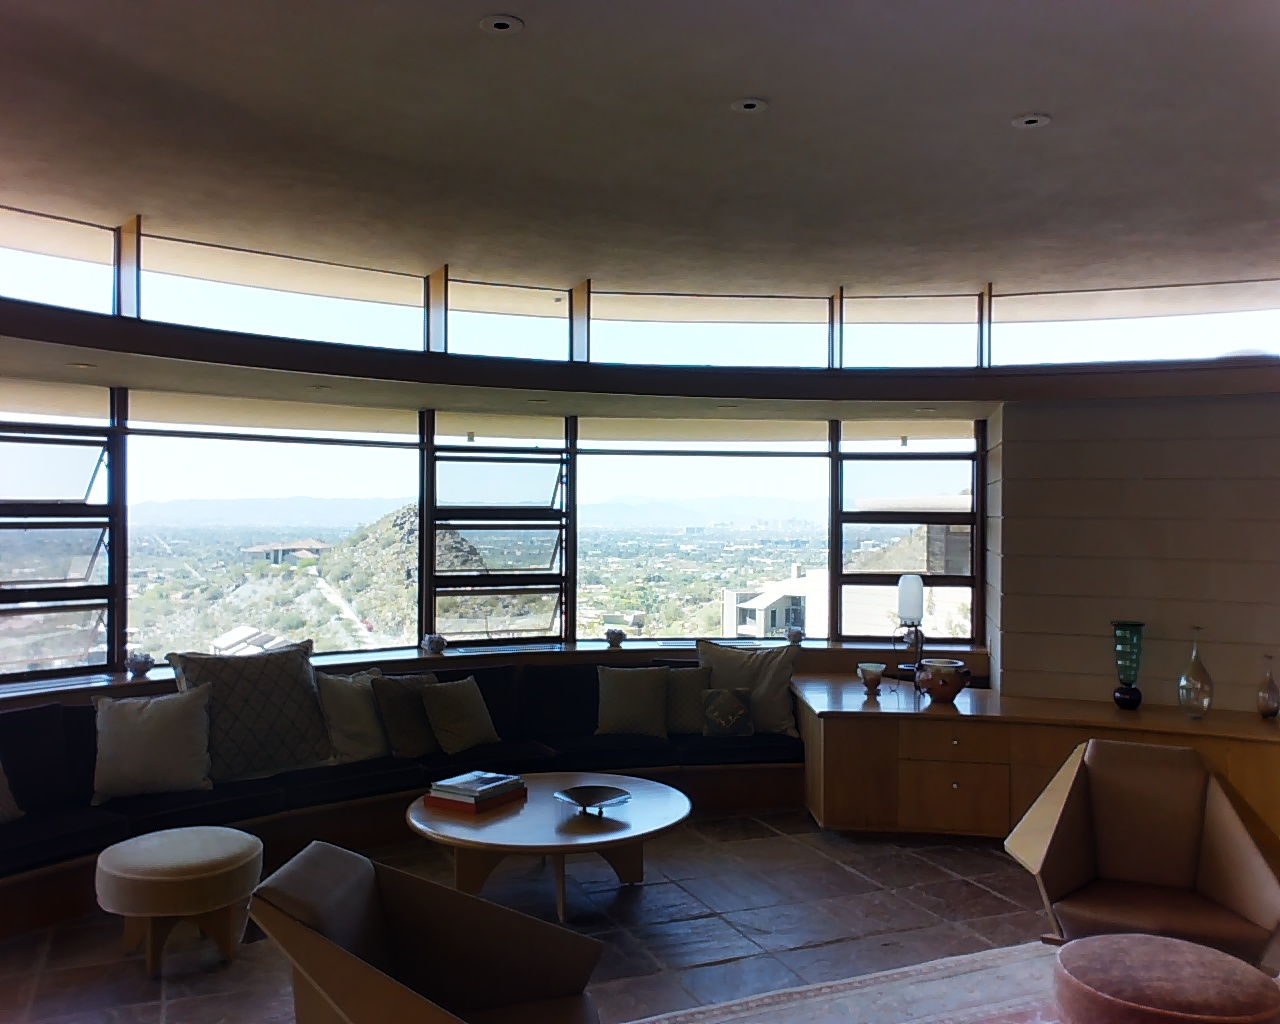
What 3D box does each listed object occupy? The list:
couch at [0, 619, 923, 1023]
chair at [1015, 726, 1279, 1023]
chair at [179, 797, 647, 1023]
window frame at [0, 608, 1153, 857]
[{"bbox_3d":[-1.330,1.170,4.870,5.949,0.890,1.650,0,0,-36],"label":"couch"},{"bbox_3d":[1.820,1.230,3.680,0.990,0.760,0.840,0,0,20],"label":"chair"},{"bbox_3d":[-0.450,1.210,2.570,0.810,0.760,0.990,0,0,8],"label":"chair"},{"bbox_3d":[-1.480,0.820,4.740,8.349,0.130,3.070,0,0,-35],"label":"window frame"}]
